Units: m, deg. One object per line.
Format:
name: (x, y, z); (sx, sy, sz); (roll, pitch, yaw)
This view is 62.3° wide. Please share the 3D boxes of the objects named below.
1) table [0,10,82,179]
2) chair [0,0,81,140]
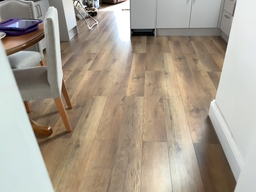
table: (-1.180, -0.140, 1.680); (1.220, 0.790, 1.200); (1, 32, 5)
chair: (-0.750, -0.200, 1.600); (0.600, 0.950, 0.440); (-4, 32, -3)
